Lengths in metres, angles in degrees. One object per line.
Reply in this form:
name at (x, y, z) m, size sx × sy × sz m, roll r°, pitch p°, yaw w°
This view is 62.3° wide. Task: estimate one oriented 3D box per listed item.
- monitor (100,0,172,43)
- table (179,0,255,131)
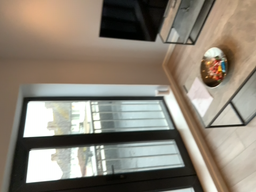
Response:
monitor at (0.140, -1.120, 2.210) m, size 1.220 × 0.720 × 0.070 m, roll 107°, pitch 157°, yaw -45°
table at (0.900, -0.250, 1.710) m, size 1.060 × 0.440 × 0.540 m, roll 107°, pitch 157°, yaw -46°
